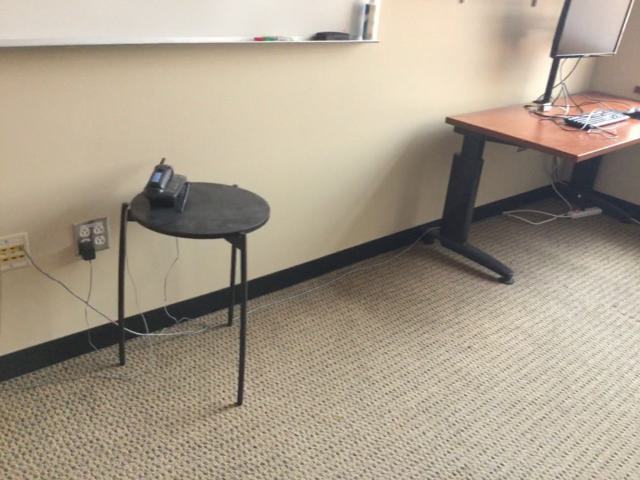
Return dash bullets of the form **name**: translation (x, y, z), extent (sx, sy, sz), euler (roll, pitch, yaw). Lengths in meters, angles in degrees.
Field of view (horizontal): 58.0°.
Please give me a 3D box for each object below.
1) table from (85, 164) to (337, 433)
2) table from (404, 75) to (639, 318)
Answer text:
- **table**: translation (-0.350, 0.130, 1.900), extent (0.540, 0.670, 0.500), euler (-17, 16, -37)
- **table**: translation (1.300, -0.360, 2.980), extent (1.550, 0.820, 0.890), euler (-17, 24, -36)
